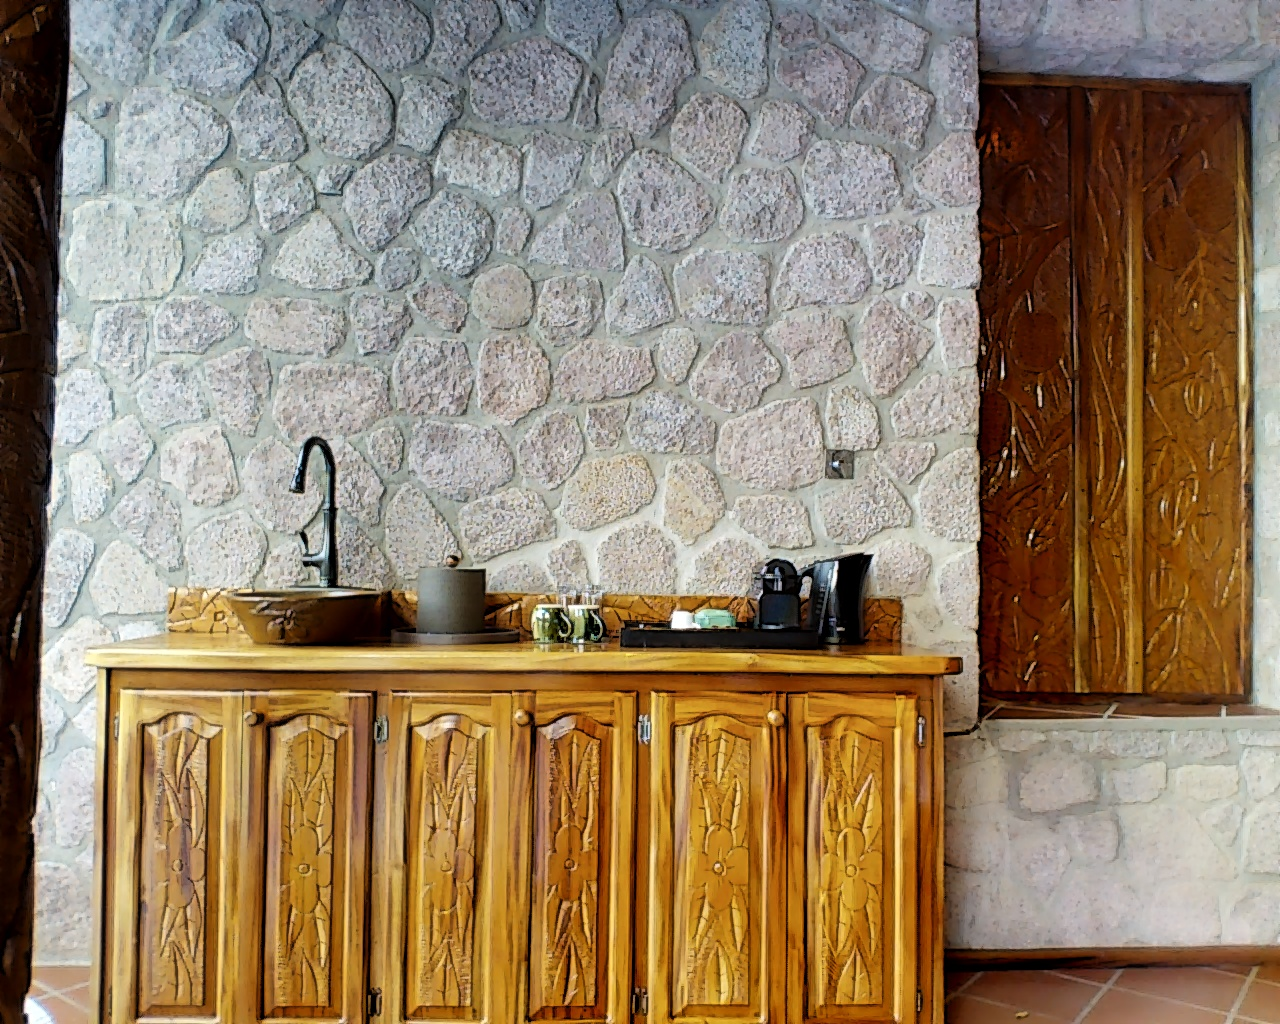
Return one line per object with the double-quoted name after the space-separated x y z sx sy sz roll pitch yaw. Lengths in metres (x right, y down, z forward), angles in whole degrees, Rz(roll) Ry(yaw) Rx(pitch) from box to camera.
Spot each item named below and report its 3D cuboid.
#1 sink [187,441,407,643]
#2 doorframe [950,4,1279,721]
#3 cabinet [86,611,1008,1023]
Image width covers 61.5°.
-0.890 0.080 2.890 0.420 0.480 0.580 1 -1 -3 "sink"
1.590 -0.450 3.390 1.100 2.140 0.330 1 -1 0 "doorframe"
-0.210 0.800 2.880 2.180 0.990 0.610 1 -1 -3 "cabinet"
